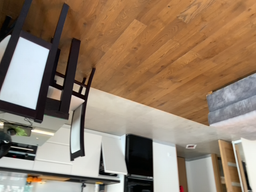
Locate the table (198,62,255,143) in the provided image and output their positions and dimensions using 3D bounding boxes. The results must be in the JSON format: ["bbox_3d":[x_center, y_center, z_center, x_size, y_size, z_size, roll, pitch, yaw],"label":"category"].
[{"bbox_3d":[1.540,0.150,2.550,1.040,0.490,0.800,18,148,-28],"label":"table"}]

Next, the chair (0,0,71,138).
[{"bbox_3d":[-0.730,-0.250,1.470,0.340,0.930,0.480,22,146,-33],"label":"chair"}]

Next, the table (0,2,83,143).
[{"bbox_3d":[-1.070,-0.140,1.870,0.930,0.760,0.940,19,147,-29],"label":"table"}]
